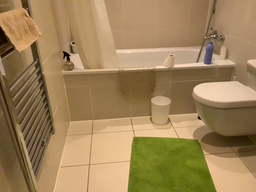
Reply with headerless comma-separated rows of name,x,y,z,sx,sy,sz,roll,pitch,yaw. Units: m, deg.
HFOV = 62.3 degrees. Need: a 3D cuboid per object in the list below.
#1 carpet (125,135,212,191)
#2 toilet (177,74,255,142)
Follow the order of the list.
carpet,0.280,0.580,1.530,0.570,0.040,0.880,2,27,5
toilet,0.780,0.090,1.800,0.580,0.410,0.380,-3,27,-4
